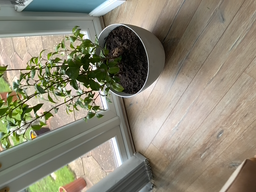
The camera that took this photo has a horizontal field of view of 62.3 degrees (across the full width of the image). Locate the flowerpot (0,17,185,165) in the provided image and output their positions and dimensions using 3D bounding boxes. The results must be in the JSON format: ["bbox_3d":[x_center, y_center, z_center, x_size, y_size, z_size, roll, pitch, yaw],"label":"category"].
[{"bbox_3d":[-0.180,-0.120,1.130,0.490,1.010,0.430,-4,102,41],"label":"flowerpot"}]
